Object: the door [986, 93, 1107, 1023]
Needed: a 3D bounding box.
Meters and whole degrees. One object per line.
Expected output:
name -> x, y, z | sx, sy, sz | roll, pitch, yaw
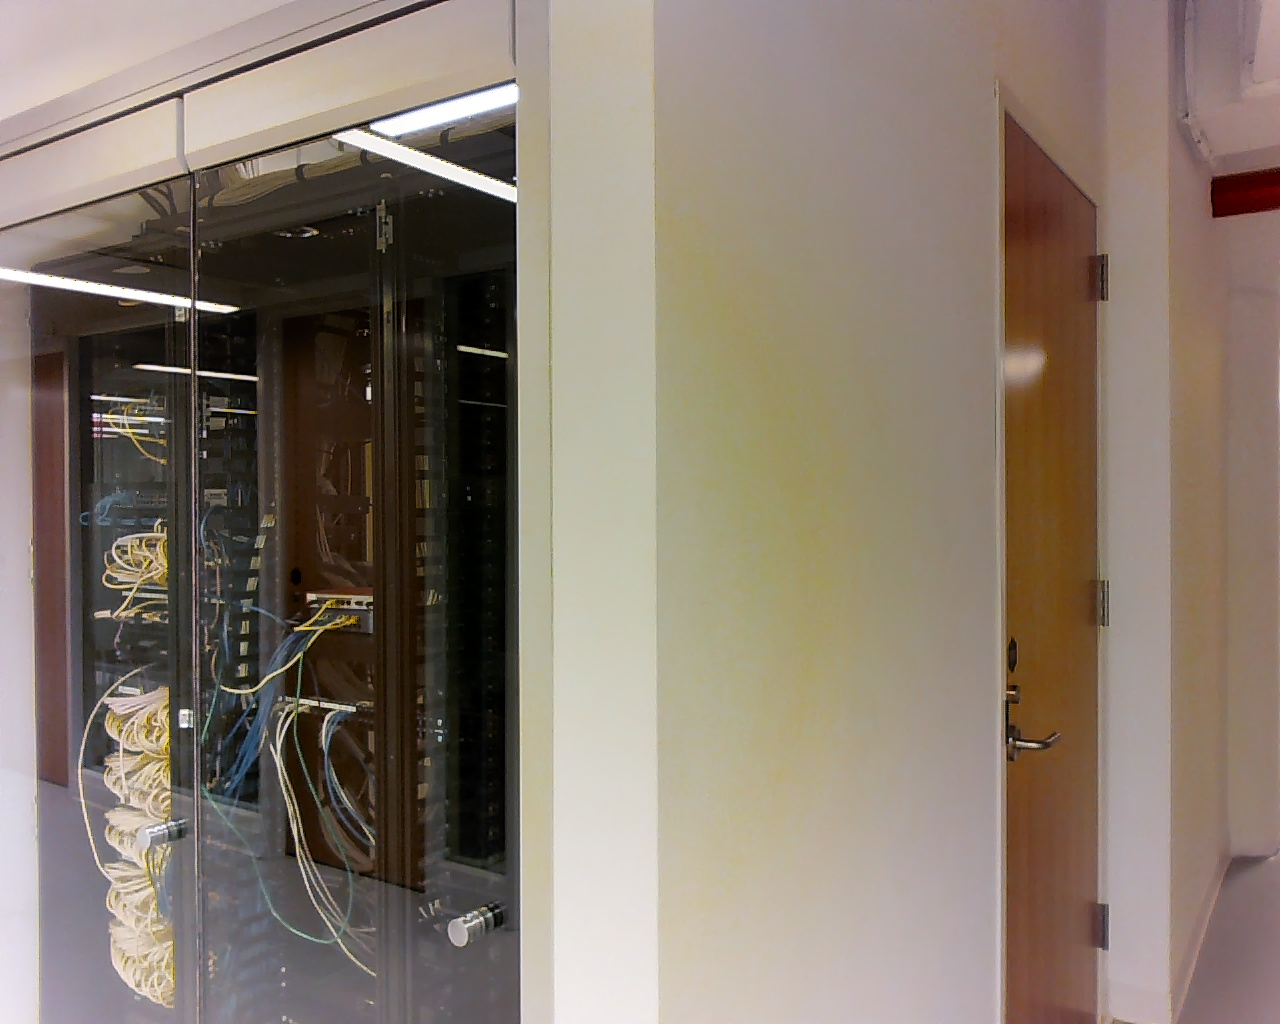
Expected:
door -> 0.960, 0.310, 2.470 | 0.050, 2.220, 0.980 | 0, 0, 33
